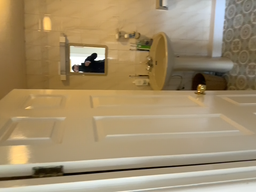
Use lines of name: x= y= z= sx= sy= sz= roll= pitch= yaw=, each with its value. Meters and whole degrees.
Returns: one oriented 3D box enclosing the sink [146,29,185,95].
sink: x=0.370 y=-0.340 z=2.210 sx=0.500 sy=0.180 sz=0.600 roll=-145 pitch=56 yaw=-75
